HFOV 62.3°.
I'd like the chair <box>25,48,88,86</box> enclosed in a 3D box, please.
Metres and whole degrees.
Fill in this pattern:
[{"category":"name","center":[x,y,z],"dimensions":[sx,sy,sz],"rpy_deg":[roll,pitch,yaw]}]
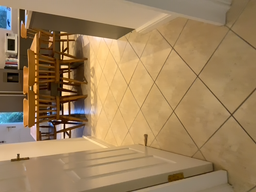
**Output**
[{"category":"chair","center":[-1.080,-0.400,3.170],"dimensions":[0.530,0.790,0.380],"rpy_deg":[-17,75,60]}]

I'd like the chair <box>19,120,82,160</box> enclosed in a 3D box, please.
[{"category":"chair","center":[-1.240,0.660,3.390],"dimensions":[0.540,0.870,0.460],"rpy_deg":[-4,87,61]}]
